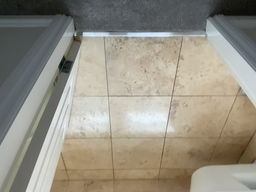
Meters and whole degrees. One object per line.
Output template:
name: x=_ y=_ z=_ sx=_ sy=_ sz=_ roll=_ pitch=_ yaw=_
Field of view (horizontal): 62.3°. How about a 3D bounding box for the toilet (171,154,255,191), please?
toilet: x=0.640 y=0.670 z=1.490 sx=0.560 sy=0.350 sz=0.380 roll=0 pitch=128 yaw=-2
